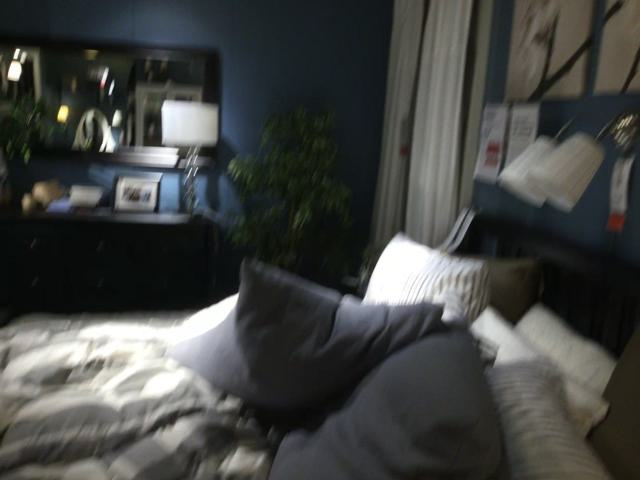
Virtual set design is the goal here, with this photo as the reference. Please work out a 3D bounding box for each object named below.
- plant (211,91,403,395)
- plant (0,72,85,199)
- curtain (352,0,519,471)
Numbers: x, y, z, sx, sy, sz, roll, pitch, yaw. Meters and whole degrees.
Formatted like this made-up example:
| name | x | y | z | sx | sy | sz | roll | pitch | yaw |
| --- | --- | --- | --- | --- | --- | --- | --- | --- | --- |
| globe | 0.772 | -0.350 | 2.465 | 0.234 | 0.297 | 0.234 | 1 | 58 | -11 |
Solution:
| name | x | y | z | sx | sy | sz | roll | pitch | yaw |
| --- | --- | --- | --- | --- | --- | --- | --- | --- | --- |
| plant | -0.090 | 0.000 | 3.530 | 0.930 | 1.630 | 0.670 | 5 | 8 | -1 |
| plant | -1.620 | -0.600 | 3.360 | 0.400 | 0.670 | 0.230 | 5 | 8 | -1 |
| curtain | 0.530 | -0.300 | 3.170 | 0.380 | 2.460 | 1.520 | 5 | 8 | -1 |
